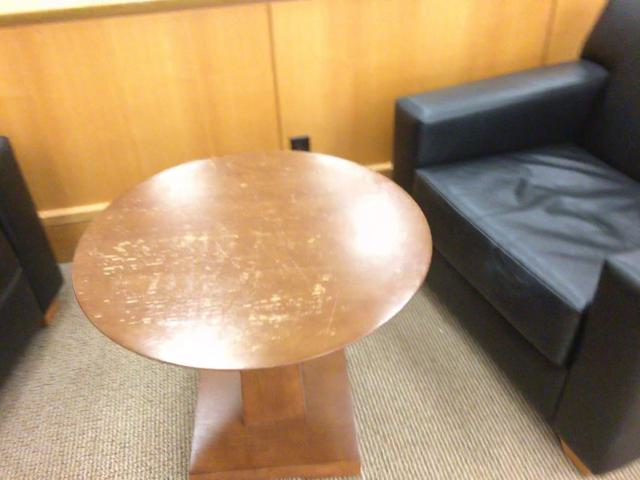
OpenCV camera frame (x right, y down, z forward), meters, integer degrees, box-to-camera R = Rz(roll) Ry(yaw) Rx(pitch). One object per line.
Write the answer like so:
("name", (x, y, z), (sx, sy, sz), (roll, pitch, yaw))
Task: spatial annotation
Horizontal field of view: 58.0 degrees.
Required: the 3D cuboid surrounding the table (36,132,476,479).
("table", (-0.130, 0.210, 1.310), (0.660, 0.580, 0.690), (-9, 37, -7))
